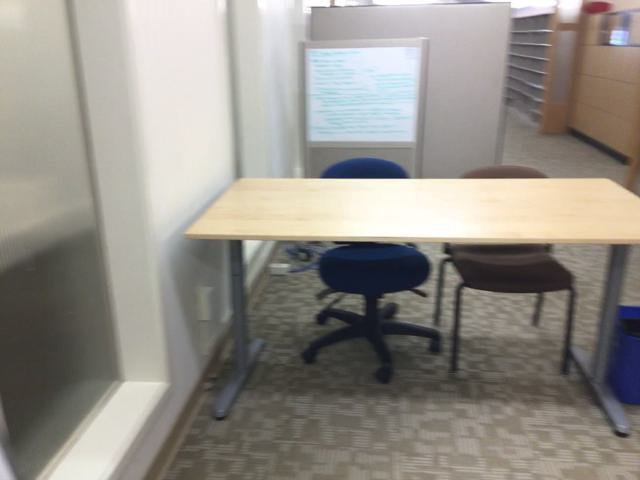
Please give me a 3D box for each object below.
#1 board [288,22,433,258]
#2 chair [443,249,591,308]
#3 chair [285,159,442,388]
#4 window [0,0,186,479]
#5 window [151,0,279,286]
[{"bbox_3d":[0.270,-0.590,3.540,0.790,1.350,0.380,-1,19,7],"label":"board"},{"bbox_3d":[0.770,0.150,2.340,0.500,0.100,0.360,-1,19,7],"label":"chair"},{"bbox_3d":[0.200,0.120,2.440,0.560,0.810,0.530,-1,19,7],"label":"chair"},{"bbox_3d":[-0.650,0.010,1.290,0.230,1.430,0.910,-1,19,7],"label":"window"},{"bbox_3d":[-0.460,-0.590,2.860,0.260,1.380,0.900,-1,19,7],"label":"window"}]
